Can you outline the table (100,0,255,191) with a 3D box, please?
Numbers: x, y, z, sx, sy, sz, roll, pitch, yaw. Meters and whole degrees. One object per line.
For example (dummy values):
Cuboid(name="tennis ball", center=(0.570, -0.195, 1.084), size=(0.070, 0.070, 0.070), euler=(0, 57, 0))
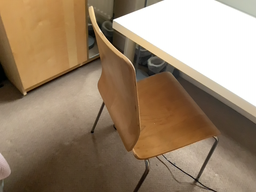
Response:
Cuboid(name="table", center=(0.460, 0.070, 1.070), size=(1.020, 0.740, 0.640), euler=(37, 52, 22))
